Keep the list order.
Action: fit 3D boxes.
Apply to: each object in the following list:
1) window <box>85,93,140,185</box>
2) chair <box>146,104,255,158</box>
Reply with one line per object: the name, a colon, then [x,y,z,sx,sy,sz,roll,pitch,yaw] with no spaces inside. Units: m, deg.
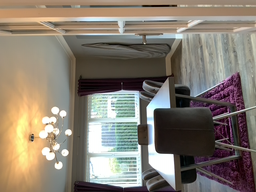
window: [-0.350,0.960,4.930,0.070,1.210,2.060,98,172,-78]
chair: [0.670,0.340,2.060,0.530,0.910,0.440,98,172,-78]
